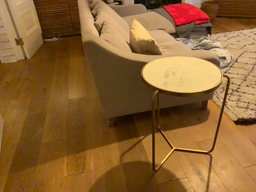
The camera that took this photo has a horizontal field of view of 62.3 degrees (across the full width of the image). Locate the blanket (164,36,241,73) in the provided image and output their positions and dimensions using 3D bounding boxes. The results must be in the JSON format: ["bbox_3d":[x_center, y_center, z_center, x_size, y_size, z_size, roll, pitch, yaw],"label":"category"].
[{"bbox_3d":[0.880,-0.540,2.640,0.690,0.160,0.650,-6,34,-4],"label":"blanket"}]

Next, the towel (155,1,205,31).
[{"bbox_3d":[0.720,-1.200,3.120,0.430,0.200,0.840,-8,34,-6],"label":"towel"}]

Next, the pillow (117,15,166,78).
[{"bbox_3d":[0.100,-0.450,1.860,0.170,0.350,0.540,-29,33,5],"label":"pillow"}]
